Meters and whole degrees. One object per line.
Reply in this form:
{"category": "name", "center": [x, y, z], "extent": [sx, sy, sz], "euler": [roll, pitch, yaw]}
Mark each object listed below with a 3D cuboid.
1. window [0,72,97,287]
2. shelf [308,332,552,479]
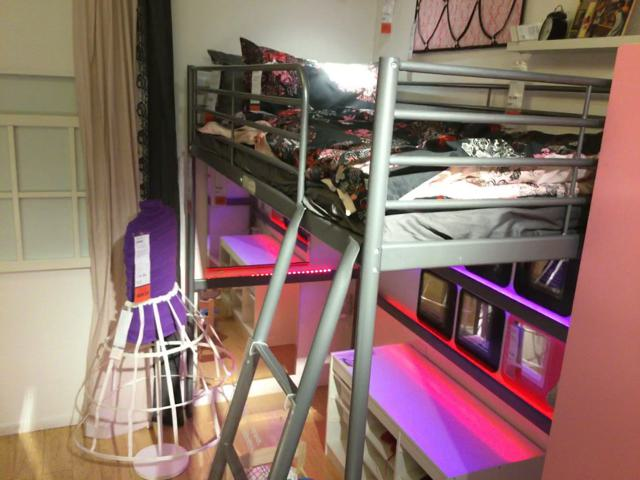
{"category": "window", "center": [-1.320, -0.260, 2.570], "extent": [0.580, 0.930, 0.100], "euler": [-3, 13, -23]}
{"category": "shelf", "center": [0.380, 0.900, 2.510], "extent": [0.470, 0.600, 1.100], "euler": [-3, 13, -23]}
